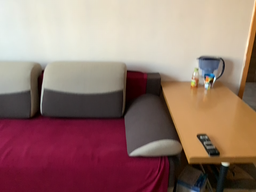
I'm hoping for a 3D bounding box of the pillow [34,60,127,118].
[{"bbox_3d":[-0.360,-0.060,1.710,0.690,0.440,0.200,1,6,1],"label":"pillow"}]
